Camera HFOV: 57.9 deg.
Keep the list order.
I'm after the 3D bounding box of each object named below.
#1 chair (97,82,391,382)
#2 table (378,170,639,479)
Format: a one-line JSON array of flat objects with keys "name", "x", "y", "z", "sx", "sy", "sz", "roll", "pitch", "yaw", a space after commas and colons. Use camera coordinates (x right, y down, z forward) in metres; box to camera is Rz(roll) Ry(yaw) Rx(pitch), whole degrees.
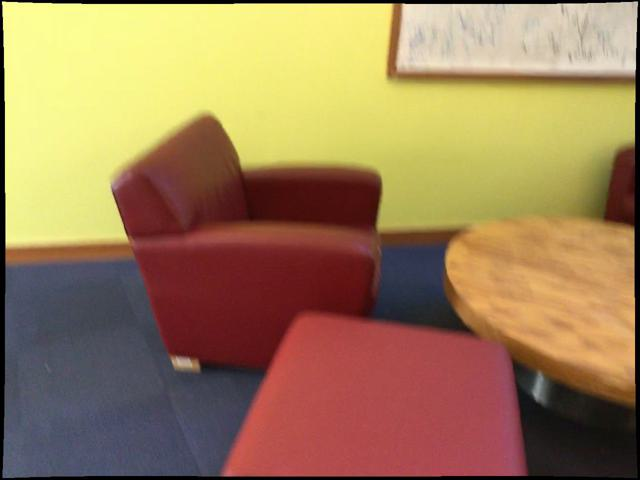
[{"name": "chair", "x": -0.170, "y": -0.050, "z": 2.220, "sx": 0.809, "sy": 0.730, "sz": 0.860, "roll": 0, "pitch": 41, "yaw": 10}, {"name": "table", "x": 1.029, "y": 0.310, "z": 2.200, "sx": 1.249, "sy": 0.440, "sz": 1.230, "roll": 3, "pitch": 39, "yaw": -17}]
